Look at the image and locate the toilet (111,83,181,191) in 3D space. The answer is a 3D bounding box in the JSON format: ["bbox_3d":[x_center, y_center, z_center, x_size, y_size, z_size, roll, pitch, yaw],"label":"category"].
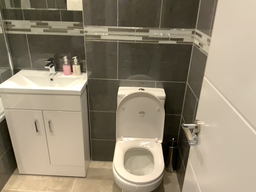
[{"bbox_3d":[0.090,0.420,1.600,0.380,0.850,0.600,3,25,0],"label":"toilet"}]
